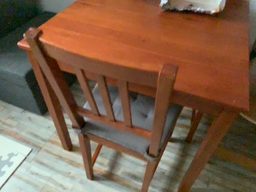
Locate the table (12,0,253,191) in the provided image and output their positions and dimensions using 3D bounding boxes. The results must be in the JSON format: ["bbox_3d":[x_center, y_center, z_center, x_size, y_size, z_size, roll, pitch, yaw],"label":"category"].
[{"bbox_3d":[0.100,-0.090,1.140,0.750,0.740,0.790,18,48,15],"label":"table"}]
